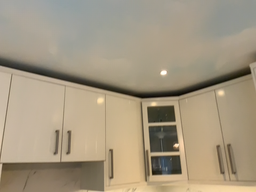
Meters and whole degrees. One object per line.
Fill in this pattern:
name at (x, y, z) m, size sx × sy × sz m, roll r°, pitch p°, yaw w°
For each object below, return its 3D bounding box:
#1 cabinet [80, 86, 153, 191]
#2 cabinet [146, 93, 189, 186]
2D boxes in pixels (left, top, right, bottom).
cabinet at (-0.120, 0.440, 2.180) m, size 0.590 × 0.910 × 0.380 m, roll 13°, pitch -23°, yaw -40°
cabinet at (0.460, 0.500, 2.430) m, size 0.320 × 0.920 × 0.530 m, roll -8°, pitch -18°, yaw 16°
